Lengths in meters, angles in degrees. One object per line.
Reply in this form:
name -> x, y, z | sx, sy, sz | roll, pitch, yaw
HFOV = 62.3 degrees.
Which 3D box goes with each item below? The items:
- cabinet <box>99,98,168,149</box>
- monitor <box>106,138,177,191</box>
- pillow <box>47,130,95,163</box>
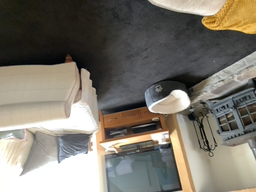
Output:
cabinet -> 0.080, 0.410, 3.040 | 0.870, 0.470, 0.450 | -10, 154, 3
monitor -> 0.160, 0.990, 2.950 | 0.900, 0.660, 0.040 | -11, 153, 4
pillow -> -0.620, 0.530, 2.320 | 0.370, 0.200, 0.350 | 2, -172, 43
